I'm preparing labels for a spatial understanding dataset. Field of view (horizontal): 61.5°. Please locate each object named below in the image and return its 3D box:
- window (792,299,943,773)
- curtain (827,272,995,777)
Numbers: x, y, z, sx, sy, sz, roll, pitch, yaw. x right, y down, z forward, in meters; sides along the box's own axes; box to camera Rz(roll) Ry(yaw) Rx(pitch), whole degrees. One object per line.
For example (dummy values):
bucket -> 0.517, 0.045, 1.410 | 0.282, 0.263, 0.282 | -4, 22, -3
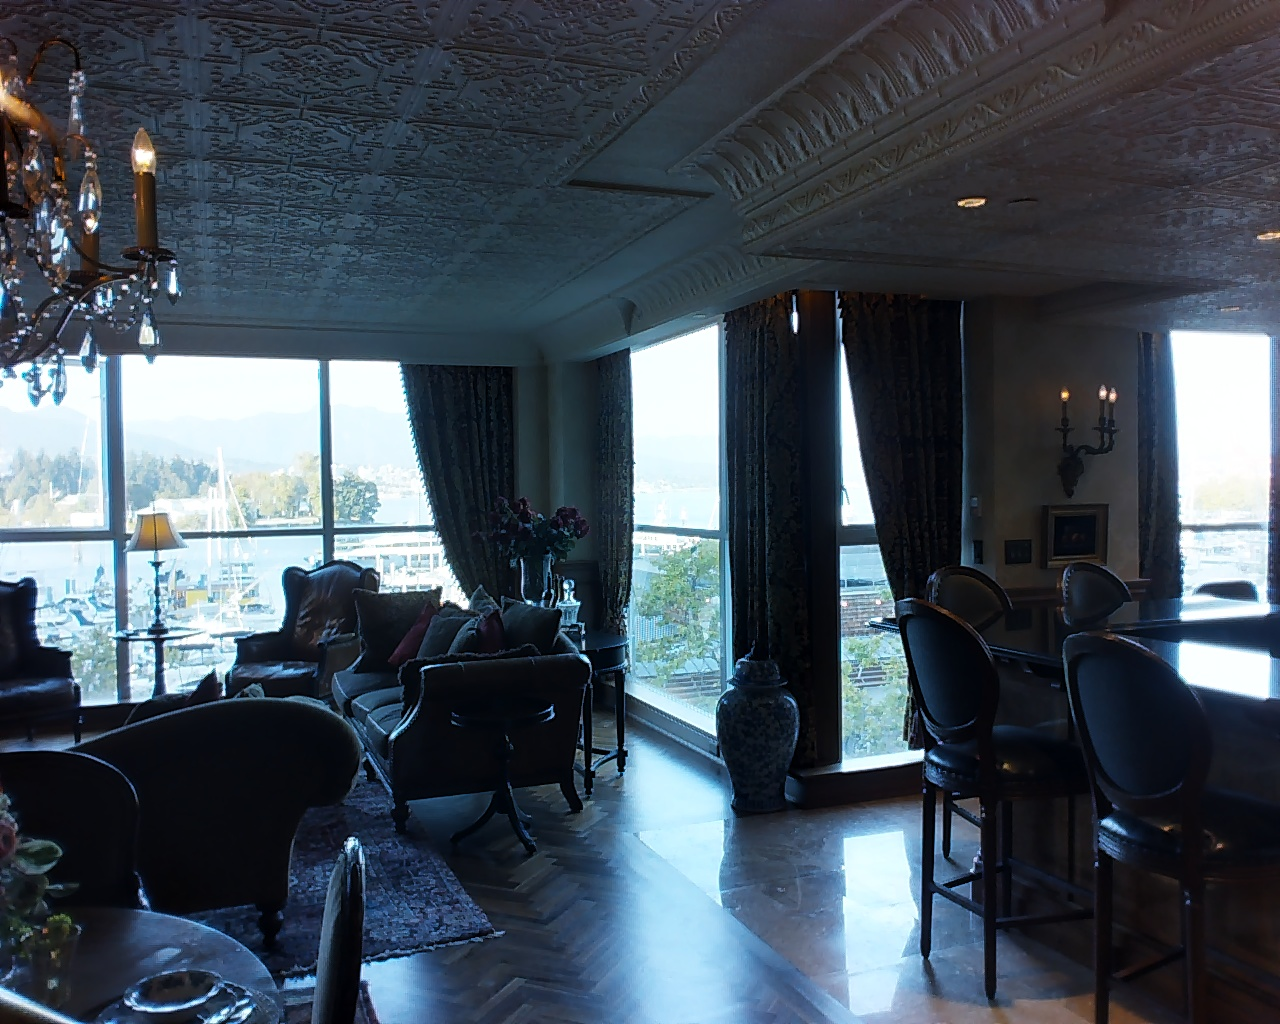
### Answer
window -> 1.230, 0.120, 5.770 | 0.830, 2.441, 0.160 | -1, 1, -23
curtain -> 1.430, 0.060, 5.640 | 0.900, 2.531, 0.190 | -1, 1, -22
